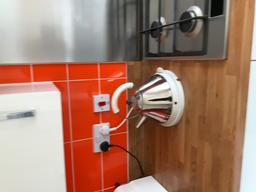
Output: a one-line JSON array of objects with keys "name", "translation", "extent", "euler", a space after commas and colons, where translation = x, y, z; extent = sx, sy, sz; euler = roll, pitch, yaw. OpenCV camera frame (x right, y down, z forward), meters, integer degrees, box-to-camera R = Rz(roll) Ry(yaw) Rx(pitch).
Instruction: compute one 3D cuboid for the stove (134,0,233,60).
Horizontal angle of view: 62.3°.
[{"name": "stove", "translation": [0.160, -0.430, 0.810], "extent": [0.550, 0.040, 0.570], "euler": [-160, 67, -64]}]
